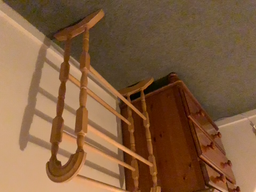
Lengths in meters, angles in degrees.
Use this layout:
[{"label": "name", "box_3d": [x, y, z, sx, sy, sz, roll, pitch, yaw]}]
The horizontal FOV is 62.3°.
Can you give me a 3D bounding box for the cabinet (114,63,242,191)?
[{"label": "cabinet", "box_3d": [0.400, 0.410, 1.590, 0.510, 0.750, 0.970, -24, 141, 23]}]
